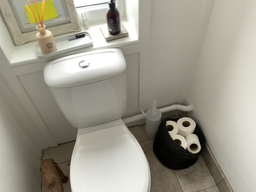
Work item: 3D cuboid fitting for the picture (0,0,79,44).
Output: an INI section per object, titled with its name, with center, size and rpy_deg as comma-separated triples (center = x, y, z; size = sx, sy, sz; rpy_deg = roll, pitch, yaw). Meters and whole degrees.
[picture]
center = -0.400, -0.380, 0.960
size = 0.320, 0.300, 0.060
rpy_deg = -12, 65, -14
